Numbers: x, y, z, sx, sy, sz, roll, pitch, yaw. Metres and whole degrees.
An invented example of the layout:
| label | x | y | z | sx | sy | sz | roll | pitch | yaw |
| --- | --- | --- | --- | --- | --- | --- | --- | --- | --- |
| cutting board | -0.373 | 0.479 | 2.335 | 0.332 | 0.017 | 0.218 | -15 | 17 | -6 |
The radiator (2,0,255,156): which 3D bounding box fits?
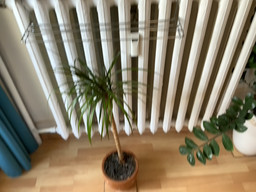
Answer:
| label | x | y | z | sx | sy | sz | roll | pitch | yaw |
| --- | --- | --- | --- | --- | --- | --- | --- | --- | --- |
| radiator | 0.070 | -0.040 | 1.220 | 1.080 | 1.010 | 0.190 | -3 | 44 | -3 |
